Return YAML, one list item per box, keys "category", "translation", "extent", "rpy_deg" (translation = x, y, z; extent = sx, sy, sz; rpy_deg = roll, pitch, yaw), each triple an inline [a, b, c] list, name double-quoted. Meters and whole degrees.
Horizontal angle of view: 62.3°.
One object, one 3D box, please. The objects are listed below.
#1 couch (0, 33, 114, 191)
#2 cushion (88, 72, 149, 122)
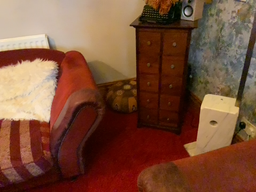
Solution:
- category: "couch"
  translation: [-1.460, 0.210, 1.610]
  extent: [2.430, 0.790, 1.220]
  rpy_deg: [-11, 33, -14]
- category: "cushion"
  translation: [-0.120, -0.010, 2.410]
  extent: [0.580, 0.270, 0.490]
  rpy_deg: [-10, 32, -12]
